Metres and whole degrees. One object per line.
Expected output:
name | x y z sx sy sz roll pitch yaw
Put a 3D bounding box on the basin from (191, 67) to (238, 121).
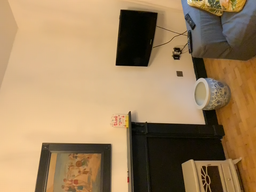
basin | 1.010 -0.020 2.540 0.370 0.270 0.520 109 162 -60
